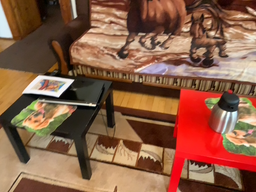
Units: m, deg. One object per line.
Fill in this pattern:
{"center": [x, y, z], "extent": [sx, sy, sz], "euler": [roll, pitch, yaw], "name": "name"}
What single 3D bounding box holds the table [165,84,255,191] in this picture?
{"center": [0.580, 0.310, 1.380], "extent": [0.570, 0.450, 0.580], "euler": [9, 39, 11], "name": "table"}
